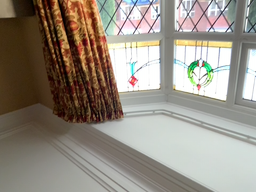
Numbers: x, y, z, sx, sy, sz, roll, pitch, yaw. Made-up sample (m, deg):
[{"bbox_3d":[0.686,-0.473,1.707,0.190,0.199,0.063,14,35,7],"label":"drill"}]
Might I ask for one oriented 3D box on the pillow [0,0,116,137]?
[{"bbox_3d":[-0.550,-1.010,1.430,0.600,2.600,0.520,3,-158,15],"label":"pillow"}]
